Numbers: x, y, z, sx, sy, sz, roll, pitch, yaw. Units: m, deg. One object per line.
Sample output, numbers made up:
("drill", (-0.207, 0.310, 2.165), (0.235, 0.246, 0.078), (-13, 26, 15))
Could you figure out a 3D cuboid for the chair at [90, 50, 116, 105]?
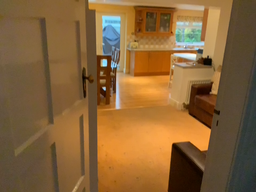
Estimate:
("chair", (-0.550, -0.410, 4.510), (0.440, 1.020, 0.660), (-3, 19, -15))
